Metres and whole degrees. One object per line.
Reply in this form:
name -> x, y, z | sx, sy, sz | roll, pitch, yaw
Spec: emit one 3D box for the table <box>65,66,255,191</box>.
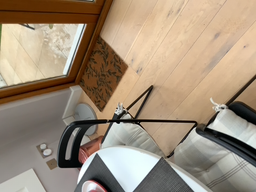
table -> 0.320, 0.620, 1.180 | 1.010, 0.750, 1.070 | 48, 131, 19
